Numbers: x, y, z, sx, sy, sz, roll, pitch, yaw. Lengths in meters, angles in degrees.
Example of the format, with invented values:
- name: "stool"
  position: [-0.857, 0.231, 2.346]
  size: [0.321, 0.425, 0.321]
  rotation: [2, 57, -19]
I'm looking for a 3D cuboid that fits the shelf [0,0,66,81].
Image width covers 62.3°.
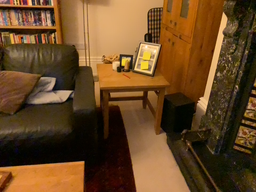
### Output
- name: "shelf"
  position: [-1.350, -1.160, 2.690]
  size: [0.900, 1.950, 0.320]
  rotation: [-1, 27, -9]
